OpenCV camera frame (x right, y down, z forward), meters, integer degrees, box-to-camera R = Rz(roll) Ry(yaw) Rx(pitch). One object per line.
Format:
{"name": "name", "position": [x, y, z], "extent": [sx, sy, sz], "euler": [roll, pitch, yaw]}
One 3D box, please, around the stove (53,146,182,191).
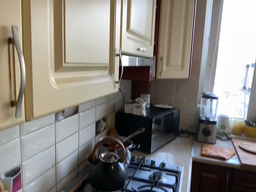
{"name": "stove", "position": [0.000, 0.450, 1.190], "extent": [0.560, 0.040, 0.580], "euler": [5, 10, 16]}

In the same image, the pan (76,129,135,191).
{"name": "pan", "position": [-0.110, 0.360, 1.180], "extent": [0.240, 0.240, 0.320], "euler": [4, 10, 10]}

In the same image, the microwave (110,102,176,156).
{"name": "microwave", "position": [0.160, 0.240, 1.810], "extent": [0.430, 0.250, 0.570], "euler": [6, 10, 17]}
